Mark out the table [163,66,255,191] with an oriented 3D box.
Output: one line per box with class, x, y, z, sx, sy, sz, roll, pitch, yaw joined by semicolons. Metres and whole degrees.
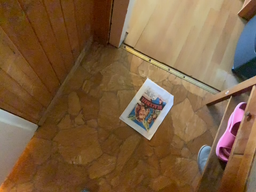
table;0.510;0.320;0.910;0.400;0.560;0.740;28;74;-1
